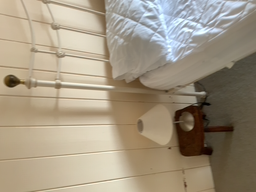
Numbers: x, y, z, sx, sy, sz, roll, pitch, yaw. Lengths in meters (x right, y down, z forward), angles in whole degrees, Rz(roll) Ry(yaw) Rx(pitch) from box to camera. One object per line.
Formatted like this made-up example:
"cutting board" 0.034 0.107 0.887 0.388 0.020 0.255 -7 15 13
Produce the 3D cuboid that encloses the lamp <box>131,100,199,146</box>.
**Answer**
"lamp" 0.220 0.170 1.320 0.230 0.310 0.230 -32 60 56

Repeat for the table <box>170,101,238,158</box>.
"table" 0.510 0.230 1.450 0.250 0.290 0.330 -31 61 56
